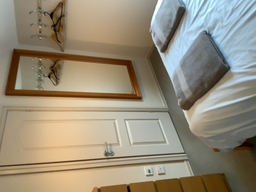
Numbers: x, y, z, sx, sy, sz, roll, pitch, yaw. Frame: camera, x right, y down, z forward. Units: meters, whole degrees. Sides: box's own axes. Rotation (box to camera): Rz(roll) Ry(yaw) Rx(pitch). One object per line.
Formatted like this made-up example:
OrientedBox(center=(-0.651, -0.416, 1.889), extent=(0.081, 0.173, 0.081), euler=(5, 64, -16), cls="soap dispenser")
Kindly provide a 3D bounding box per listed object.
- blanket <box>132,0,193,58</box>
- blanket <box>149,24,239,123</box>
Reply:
OrientedBox(center=(0.290, -0.690, 1.910), extent=(0.100, 0.550, 0.480), euler=(-12, -146, -43), cls="blanket")
OrientedBox(center=(0.420, -0.170, 1.490), extent=(0.120, 0.540, 0.460), euler=(-14, -145, -44), cls="blanket")
